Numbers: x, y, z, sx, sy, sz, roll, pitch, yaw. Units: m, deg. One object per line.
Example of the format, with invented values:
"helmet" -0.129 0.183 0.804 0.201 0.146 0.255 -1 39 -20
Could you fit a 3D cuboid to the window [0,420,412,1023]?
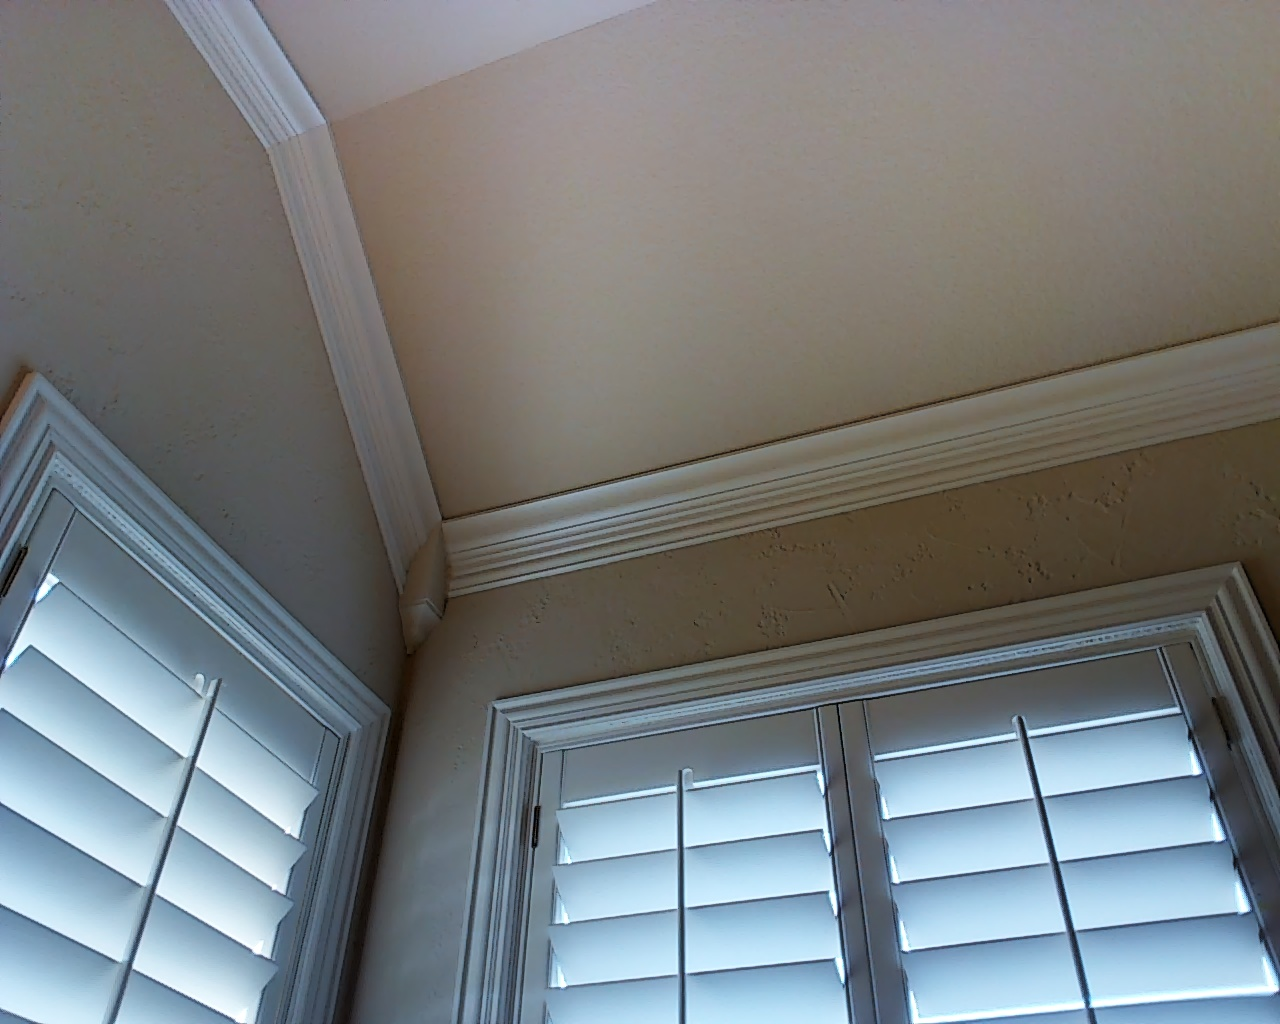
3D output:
"window" -0.670 0.660 1.390 0.070 1.280 0.960 -13 -44 16
